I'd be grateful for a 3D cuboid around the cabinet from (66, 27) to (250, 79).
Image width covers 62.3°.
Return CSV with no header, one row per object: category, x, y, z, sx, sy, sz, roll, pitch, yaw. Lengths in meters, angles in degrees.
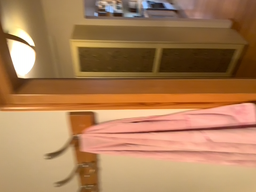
cabinet,0.380,-0.580,2.880,0.450,2.250,0.520,-98,9,-51
